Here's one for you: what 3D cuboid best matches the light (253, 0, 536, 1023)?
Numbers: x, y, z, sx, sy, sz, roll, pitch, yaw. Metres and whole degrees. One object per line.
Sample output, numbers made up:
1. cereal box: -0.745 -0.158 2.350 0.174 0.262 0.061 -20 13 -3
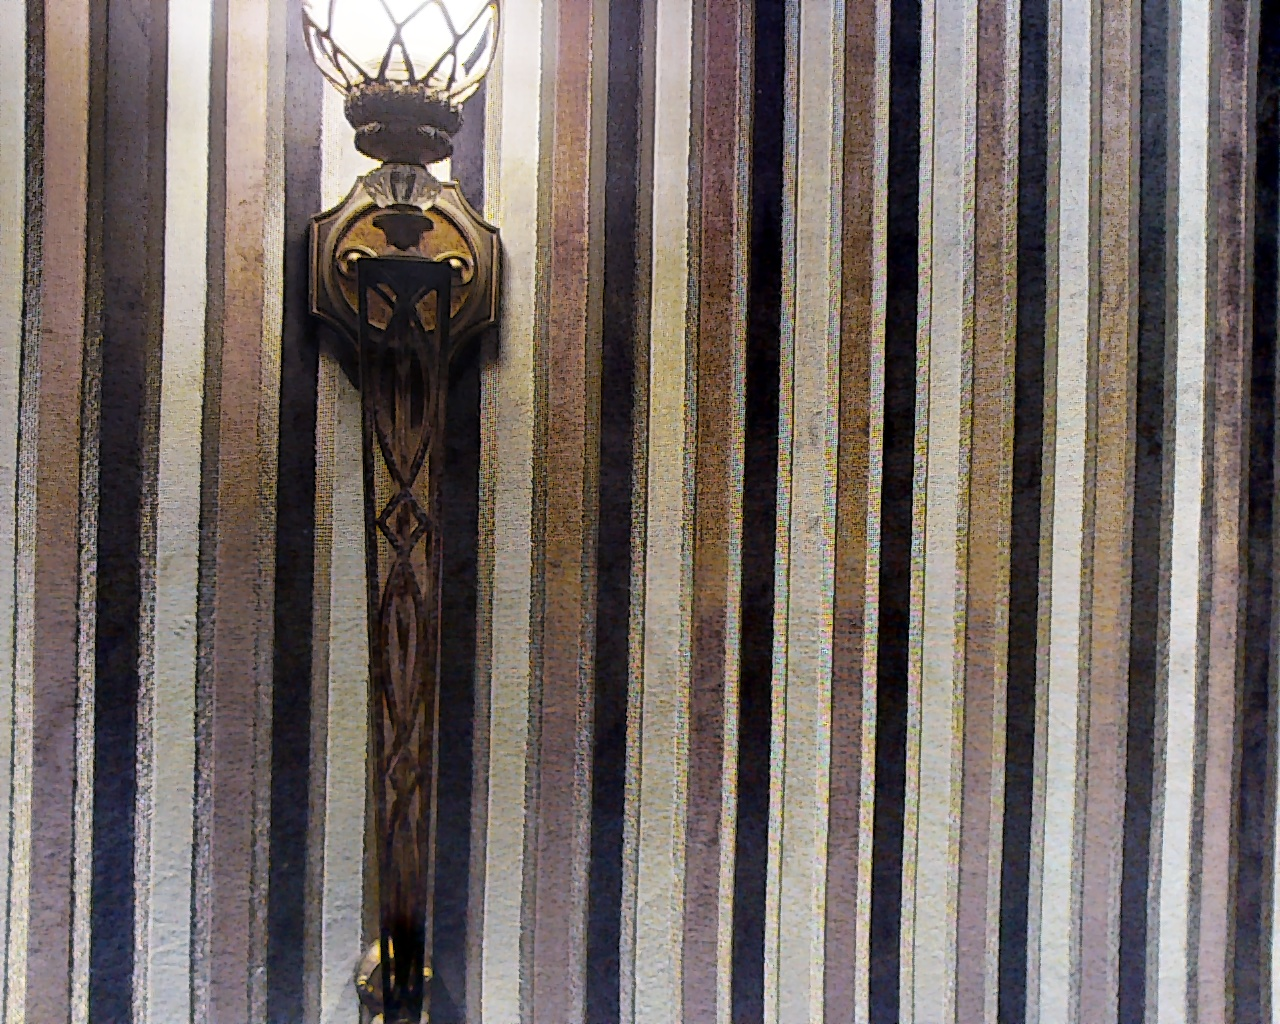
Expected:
1. light: -0.160 -0.050 0.710 0.150 1.000 0.160 1 0 -13
